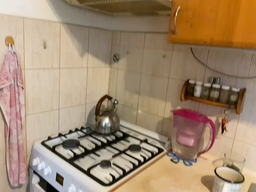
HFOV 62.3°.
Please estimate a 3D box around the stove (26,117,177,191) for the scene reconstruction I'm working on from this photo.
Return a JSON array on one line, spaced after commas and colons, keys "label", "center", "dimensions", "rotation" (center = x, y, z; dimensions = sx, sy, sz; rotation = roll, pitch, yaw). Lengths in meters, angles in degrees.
[{"label": "stove", "center": [-0.140, 0.340, 1.260], "dimensions": [0.610, 0.130, 0.630], "rotation": [16, 17, 36]}]
